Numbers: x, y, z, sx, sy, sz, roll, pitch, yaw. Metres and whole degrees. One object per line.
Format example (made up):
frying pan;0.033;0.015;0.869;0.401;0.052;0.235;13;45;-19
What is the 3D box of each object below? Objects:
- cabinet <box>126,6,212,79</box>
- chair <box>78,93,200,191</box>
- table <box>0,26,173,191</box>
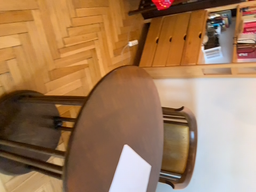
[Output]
cabinet;0.460;-0.560;2.360;0.270;0.800;0.680;42;57;-52
chair;0.130;0.380;1.860;0.550;0.800;0.630;41;57;-52
table;-0.310;0.230;1.130;0.750;0.790;0.740;41;57;-53
